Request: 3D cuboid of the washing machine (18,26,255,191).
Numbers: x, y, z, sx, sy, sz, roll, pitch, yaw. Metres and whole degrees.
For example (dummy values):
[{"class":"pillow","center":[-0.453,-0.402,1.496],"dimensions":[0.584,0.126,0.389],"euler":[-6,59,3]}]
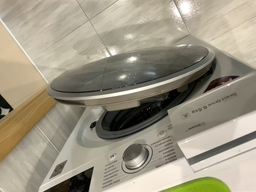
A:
[{"class":"washing machine","center":[0.160,0.150,0.800],"dimensions":[0.620,0.850,0.490],"euler":[-28,107,14]}]
